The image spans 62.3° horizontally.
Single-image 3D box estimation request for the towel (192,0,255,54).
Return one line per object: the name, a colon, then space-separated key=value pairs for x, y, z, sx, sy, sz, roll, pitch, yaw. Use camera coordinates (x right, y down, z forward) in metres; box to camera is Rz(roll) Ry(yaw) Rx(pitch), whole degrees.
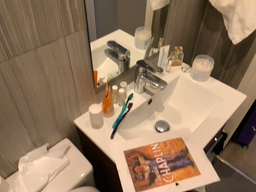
towel: x=0.460 y=-0.480 z=0.810 sx=0.110 sy=0.570 sz=0.270 roll=-35 pitch=56 yaw=-30
